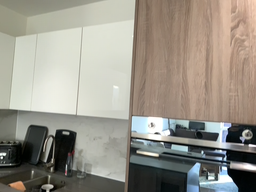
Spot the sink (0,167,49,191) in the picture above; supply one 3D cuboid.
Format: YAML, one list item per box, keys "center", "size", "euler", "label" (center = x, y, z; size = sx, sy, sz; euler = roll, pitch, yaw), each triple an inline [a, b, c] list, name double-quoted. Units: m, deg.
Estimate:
- center: [-0.900, 0.740, 1.740]
  size: [0.260, 0.170, 0.400]
  euler: [2, -4, 25]
  label: "sink"
